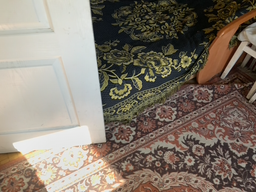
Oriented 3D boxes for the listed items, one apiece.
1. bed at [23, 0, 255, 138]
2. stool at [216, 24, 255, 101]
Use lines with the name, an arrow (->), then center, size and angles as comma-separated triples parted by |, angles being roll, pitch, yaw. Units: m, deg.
bed -> 0.260, -0.630, 1.890 | 1.900, 0.400, 1.250 | -24, 55, -20
stool -> 0.960, -0.260, 1.590 | 0.300, 0.440, 0.310 | -24, 55, -20
